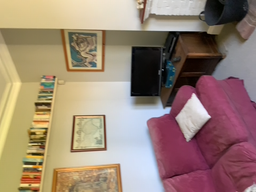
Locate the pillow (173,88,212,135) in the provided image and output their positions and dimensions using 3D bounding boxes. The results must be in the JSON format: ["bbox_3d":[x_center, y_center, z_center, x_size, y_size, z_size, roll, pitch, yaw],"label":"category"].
[{"bbox_3d":[0.660,0.170,2.230,0.420,0.190,0.290,99,166,-49],"label":"pillow"}]

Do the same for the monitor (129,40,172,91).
[{"bbox_3d":[0.290,-0.390,2.810,0.050,0.530,0.660,-131,43,-73],"label":"monitor"}]

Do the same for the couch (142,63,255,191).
[{"bbox_3d":[0.800,0.670,2.130,1.130,0.880,1.690,100,165,-51],"label":"couch"}]
